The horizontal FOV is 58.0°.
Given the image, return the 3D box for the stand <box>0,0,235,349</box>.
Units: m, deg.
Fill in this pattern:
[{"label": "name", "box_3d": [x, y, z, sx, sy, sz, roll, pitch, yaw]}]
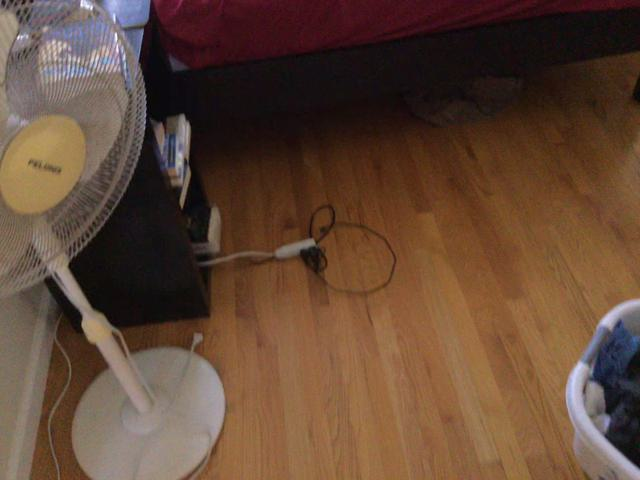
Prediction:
[{"label": "stand", "box_3d": [-0.580, -0.180, 1.580, 0.490, 0.850, 0.500, -10, 48, 0]}]
